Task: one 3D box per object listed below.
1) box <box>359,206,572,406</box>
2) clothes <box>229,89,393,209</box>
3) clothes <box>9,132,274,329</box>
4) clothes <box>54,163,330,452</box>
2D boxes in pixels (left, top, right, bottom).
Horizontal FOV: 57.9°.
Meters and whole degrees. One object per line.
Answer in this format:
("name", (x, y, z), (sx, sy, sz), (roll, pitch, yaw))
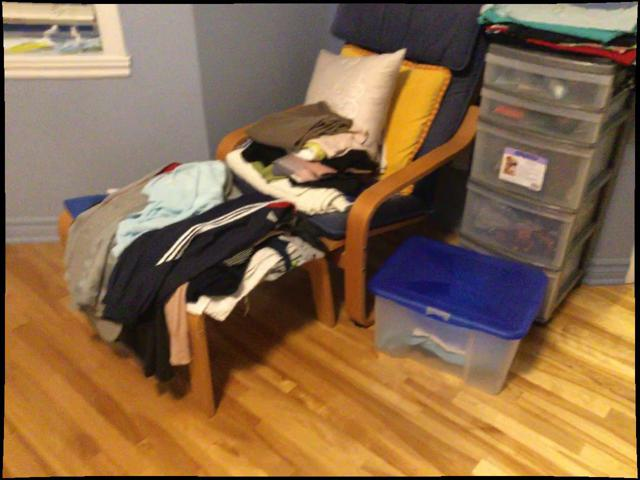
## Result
("box", (0.420, 0.170, 1.740), (0.470, 0.290, 0.370), (26, 42, 36))
("clothes", (-0.030, -0.300, 1.800), (0.400, 0.190, 0.300), (26, 42, 36))
("clothes", (-0.509, -0.070, 1.750), (0.410, 0.250, 0.610), (26, 42, 36))
("clothes", (-0.310, 0.150, 1.630), (0.340, 0.480, 0.620), (26, 42, 36))
